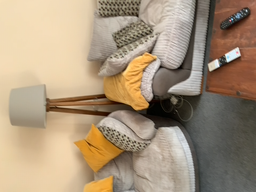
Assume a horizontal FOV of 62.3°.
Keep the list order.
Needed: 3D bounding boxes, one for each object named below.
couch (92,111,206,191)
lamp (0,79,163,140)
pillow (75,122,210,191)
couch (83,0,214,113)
[{"bbox_3d":[0.120,0.840,2.330,1.250,0.700,1.340,172,98,-65],"label":"couch"},{"bbox_3d":[-0.440,0.110,2.380,0.420,1.680,0.520,10,99,63],"label":"lamp"},{"bbox_3d":[0.200,0.910,2.710,0.620,1.600,1.020,-177,88,-65],"label":"pillow"},{"bbox_3d":[0.100,-0.470,2.210,1.090,0.850,1.050,-160,73,-64],"label":"couch"}]
